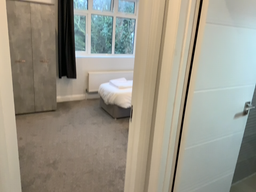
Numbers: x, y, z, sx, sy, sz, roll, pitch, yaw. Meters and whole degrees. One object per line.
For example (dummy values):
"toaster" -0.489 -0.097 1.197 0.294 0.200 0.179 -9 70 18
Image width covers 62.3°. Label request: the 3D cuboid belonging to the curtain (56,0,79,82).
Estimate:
"curtain" -1.140 -1.230 4.000 0.370 1.930 0.190 -6 20 -30
